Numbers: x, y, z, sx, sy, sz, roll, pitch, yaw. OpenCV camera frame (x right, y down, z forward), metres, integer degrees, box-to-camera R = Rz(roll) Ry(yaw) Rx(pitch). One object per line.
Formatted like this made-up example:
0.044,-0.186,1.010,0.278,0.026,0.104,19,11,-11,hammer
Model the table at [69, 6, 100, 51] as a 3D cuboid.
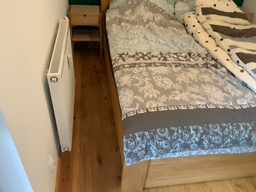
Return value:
-0.560,-0.880,2.790,0.370,0.460,0.350,-2,39,-10,table
